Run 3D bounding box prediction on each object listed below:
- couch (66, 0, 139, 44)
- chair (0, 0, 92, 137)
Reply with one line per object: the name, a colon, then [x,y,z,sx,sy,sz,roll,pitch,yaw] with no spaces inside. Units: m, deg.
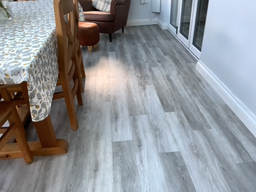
couch: [-0.380,-1.550,3.510,0.800,0.990,0.960,15,36,24]
chair: [-0.590,-0.230,1.530,0.530,0.960,0.420,-5,33,-4]
